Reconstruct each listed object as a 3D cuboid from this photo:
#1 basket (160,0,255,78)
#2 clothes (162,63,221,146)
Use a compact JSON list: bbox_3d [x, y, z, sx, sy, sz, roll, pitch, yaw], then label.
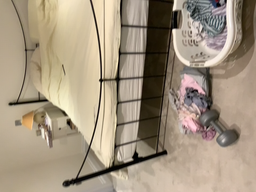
[{"bbox_3d":[0.500,-0.500,1.390,0.550,0.240,0.680,21,113,56],"label":"basket"},{"bbox_3d":[0.460,0.050,1.630,0.350,0.140,0.540,30,121,53],"label":"clothes"}]
